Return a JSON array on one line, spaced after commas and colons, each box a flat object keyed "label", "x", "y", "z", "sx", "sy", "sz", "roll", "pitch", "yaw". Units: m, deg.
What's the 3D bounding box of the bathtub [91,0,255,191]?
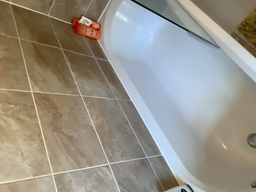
[{"label": "bathtub", "x": 0.430, "y": -0.140, "z": 1.410, "sx": 0.660, "sy": 0.580, "sz": 1.640, "roll": -51, "pitch": 53, "yaw": 30}]
